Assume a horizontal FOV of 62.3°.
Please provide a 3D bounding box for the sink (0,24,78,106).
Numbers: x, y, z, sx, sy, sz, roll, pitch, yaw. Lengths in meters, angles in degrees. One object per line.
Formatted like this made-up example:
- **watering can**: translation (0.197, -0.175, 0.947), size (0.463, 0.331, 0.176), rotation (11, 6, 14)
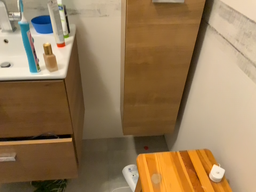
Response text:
- **sink**: translation (-0.530, -0.150, 0.860), size (0.600, 0.130, 0.440), rotation (-2, 39, -7)
